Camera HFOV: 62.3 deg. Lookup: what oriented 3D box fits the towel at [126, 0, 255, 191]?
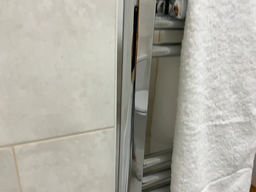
[{"bbox_3d":[0.170,0.040,0.440,0.280,0.600,0.190,-9,23,-28],"label":"towel"}]
